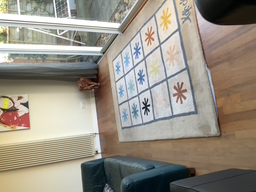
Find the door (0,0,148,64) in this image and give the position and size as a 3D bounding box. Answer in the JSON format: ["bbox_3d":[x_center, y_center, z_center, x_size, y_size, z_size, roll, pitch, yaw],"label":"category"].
[{"bbox_3d":[-0.660,-1.330,1.860,5.640,2.440,0.070,151,113,-63],"label":"door"}]

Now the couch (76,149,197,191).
[{"bbox_3d":[-0.050,1.280,2.660,1.890,0.750,1.030,155,109,-63],"label":"couch"}]
